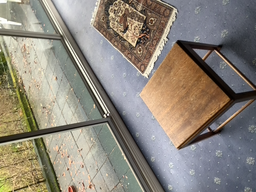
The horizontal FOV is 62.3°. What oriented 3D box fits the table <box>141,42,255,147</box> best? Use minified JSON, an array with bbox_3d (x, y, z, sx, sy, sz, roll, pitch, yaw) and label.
[{"bbox_3d":[0.460,-0.020,1.350,0.420,0.480,0.420,57,132,27],"label":"table"}]
